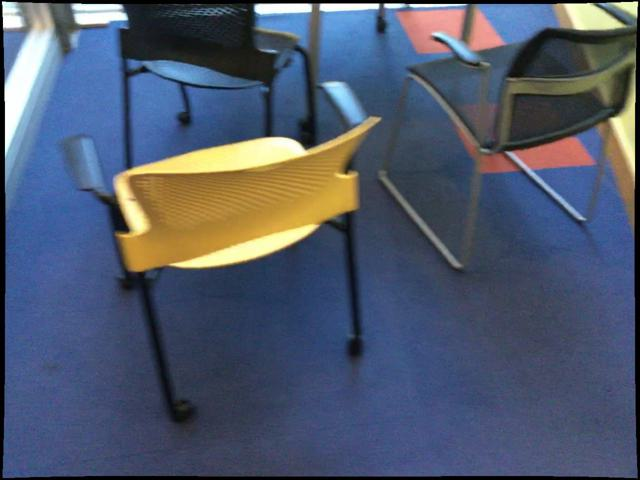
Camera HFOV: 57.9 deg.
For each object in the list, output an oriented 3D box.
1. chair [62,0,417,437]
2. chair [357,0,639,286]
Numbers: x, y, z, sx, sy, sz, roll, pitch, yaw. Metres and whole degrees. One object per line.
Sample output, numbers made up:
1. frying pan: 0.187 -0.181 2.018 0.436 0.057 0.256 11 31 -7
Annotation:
1. chair: -0.200 -0.070 1.350 0.540 0.760 0.630 -11 48 -12
2. chair: 0.579 -0.420 1.740 0.699 0.750 0.640 -13 48 -14
